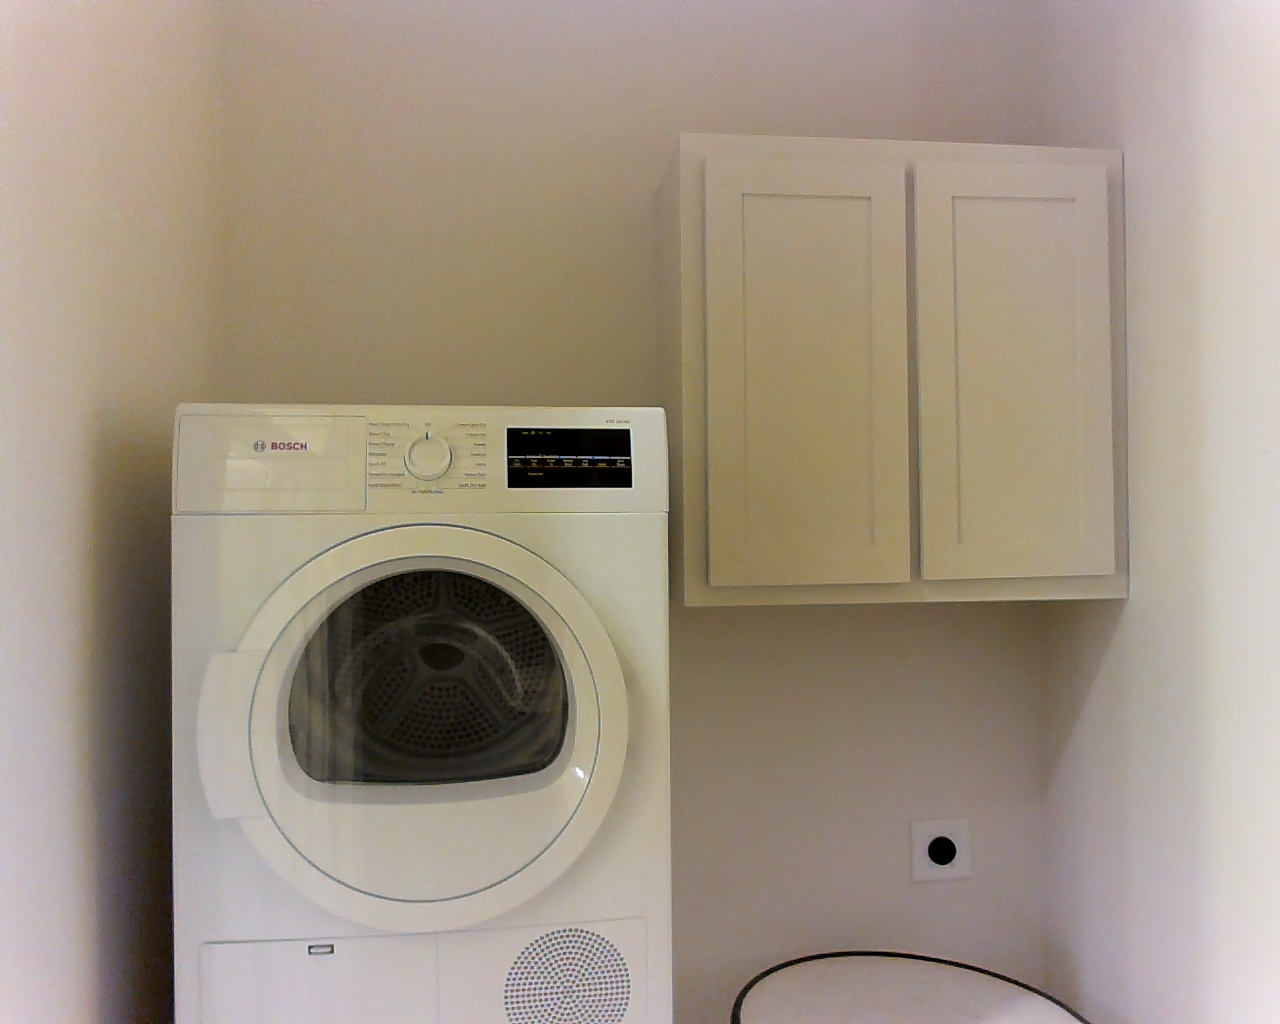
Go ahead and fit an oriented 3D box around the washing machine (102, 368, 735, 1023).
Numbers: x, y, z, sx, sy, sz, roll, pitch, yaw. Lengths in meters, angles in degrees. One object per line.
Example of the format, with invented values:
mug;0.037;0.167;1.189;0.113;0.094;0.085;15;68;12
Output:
washing machine;-0.290;0.390;1.610;0.710;1.110;0.740;-1;0;-8
